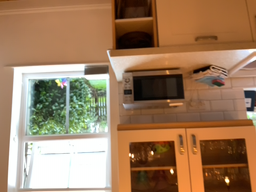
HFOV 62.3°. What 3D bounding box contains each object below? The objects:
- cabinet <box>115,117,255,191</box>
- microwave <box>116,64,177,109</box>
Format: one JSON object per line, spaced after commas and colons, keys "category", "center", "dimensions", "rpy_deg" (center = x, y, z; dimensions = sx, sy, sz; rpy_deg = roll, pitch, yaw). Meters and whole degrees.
{"category": "cabinet", "center": [0.460, 0.600, 1.620], "dimensions": [1.070, 0.800, 0.300], "rpy_deg": [-3, 169, 1]}
{"category": "microwave", "center": [0.140, -0.060, 1.720], "dimensions": [0.430, 0.270, 0.360], "rpy_deg": [-3, 169, 3]}
